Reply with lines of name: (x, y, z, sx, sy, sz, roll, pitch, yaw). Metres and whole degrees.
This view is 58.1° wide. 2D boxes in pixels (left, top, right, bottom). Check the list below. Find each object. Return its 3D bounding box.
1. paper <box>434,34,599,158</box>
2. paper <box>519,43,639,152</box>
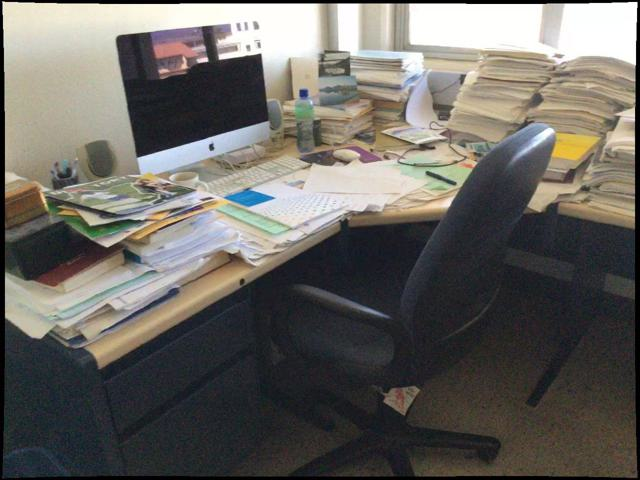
paper: (0.708, -0.541, 2.090, 0.409, 0.321, 0.420, 18, 33, 34)
paper: (0.898, -0.481, 1.890, 0.359, 0.261, 0.290, 18, 33, 34)
